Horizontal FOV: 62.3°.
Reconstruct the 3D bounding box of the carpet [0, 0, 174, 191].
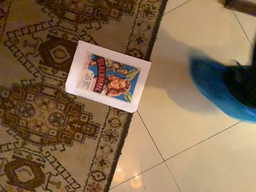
[{"bbox_3d":[-0.320,0.000,0.860,0.740,0.120,1.030,17,92,1],"label":"carpet"}]
